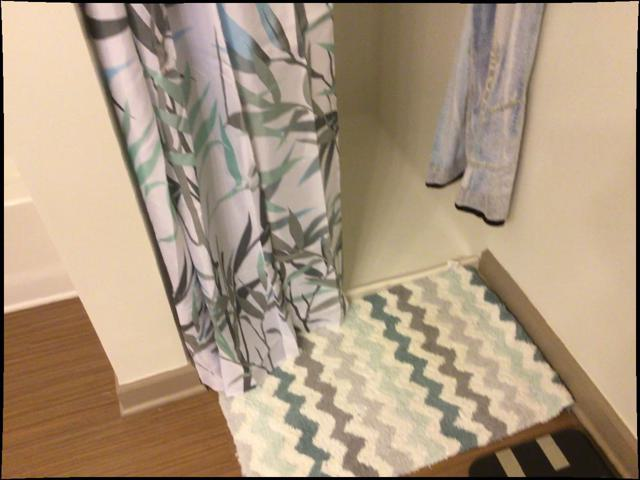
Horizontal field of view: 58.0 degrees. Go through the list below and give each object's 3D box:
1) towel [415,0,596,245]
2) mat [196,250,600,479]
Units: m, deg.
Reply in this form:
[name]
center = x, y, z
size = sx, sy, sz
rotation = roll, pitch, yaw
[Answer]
[towel]
center = 0.399, -0.421, 1.320
size = 0.170, 0.871, 0.330
rotation = -14, 47, -10
[mat]
center = 0.160, 0.351, 1.490
size = 0.868, 0.050, 0.581
rotation = -14, 47, -10
